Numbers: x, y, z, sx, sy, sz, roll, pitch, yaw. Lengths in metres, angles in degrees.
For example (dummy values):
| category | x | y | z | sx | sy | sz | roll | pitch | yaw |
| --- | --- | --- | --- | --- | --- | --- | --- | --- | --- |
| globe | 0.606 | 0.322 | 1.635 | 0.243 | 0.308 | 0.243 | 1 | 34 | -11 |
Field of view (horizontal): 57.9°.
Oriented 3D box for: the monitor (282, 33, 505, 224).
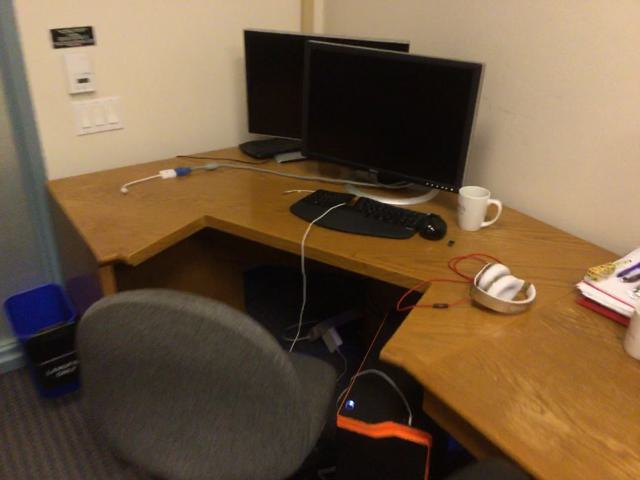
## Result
| category | x | y | z | sx | sy | sz | roll | pitch | yaw |
| --- | --- | --- | --- | --- | --- | --- | --- | --- | --- |
| monitor | 0.190 | -0.350 | 1.720 | 0.590 | 0.430 | 0.210 | 17 | 31 | 27 |
